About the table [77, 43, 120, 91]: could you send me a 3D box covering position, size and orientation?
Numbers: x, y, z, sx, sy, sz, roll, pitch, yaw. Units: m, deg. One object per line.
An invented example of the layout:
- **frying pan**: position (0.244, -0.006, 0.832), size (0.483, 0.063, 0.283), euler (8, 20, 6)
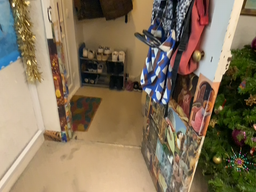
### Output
- **table**: position (-0.420, -0.430, 3.130), size (0.540, 0.590, 0.280), euler (6, 31, 5)
